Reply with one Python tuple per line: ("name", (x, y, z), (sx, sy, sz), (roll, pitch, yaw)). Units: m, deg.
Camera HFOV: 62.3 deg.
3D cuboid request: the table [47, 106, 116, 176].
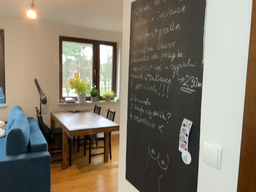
("table", (-0.960, 0.700, 3.980), (0.820, 0.760, 1.660), (-1, 7, -29))
